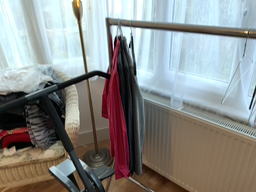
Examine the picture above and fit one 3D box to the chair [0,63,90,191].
[{"bbox_3d":[-0.690,0.300,1.590,0.680,0.880,0.610,-8,27,-11],"label":"chair"}]
